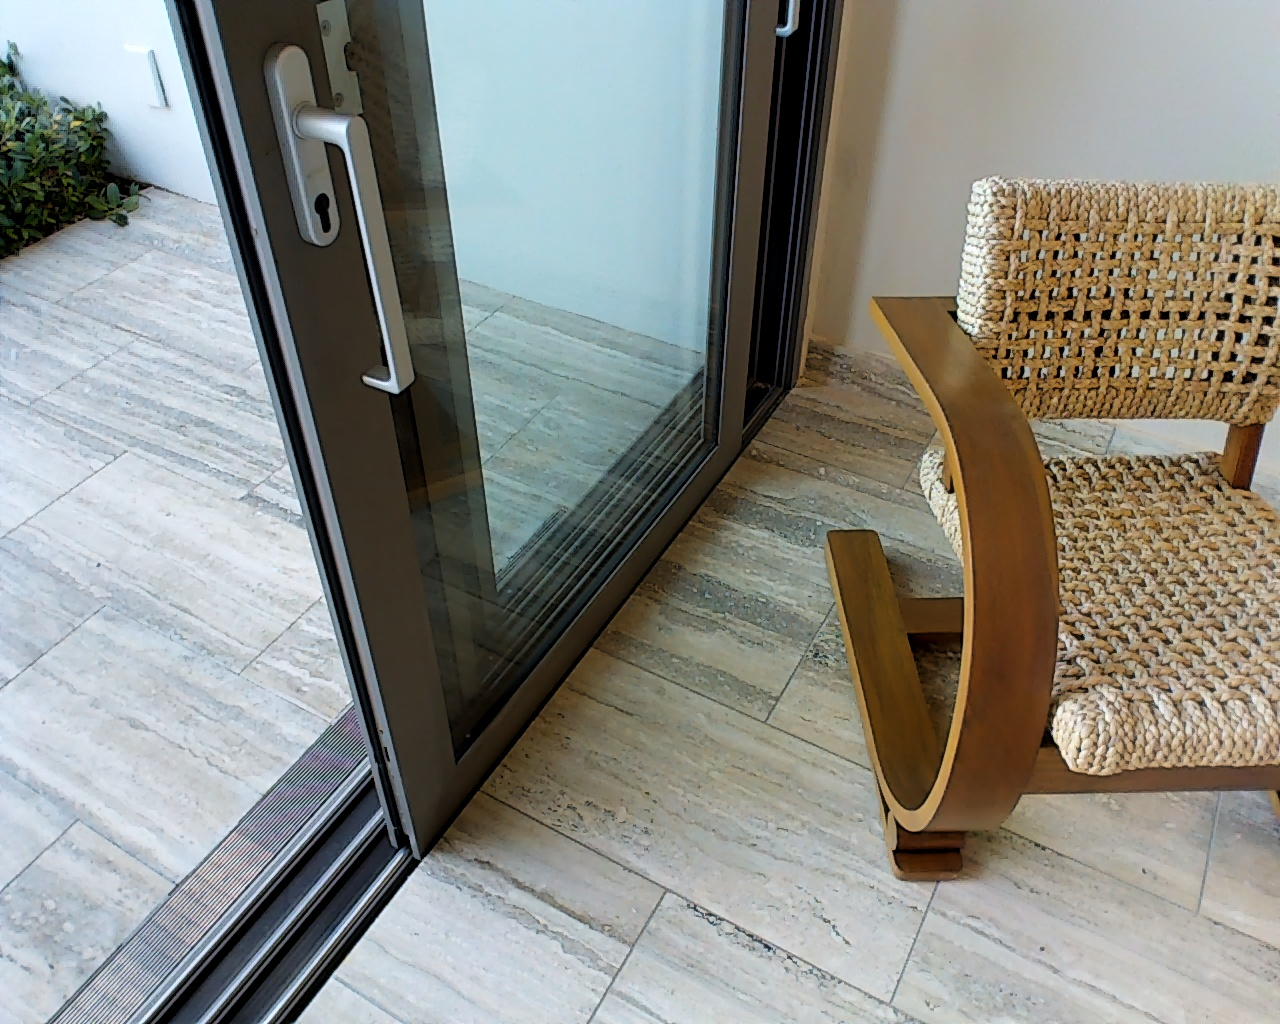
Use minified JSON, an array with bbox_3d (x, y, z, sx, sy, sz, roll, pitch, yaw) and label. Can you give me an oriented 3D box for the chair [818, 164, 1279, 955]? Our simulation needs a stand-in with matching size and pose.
[{"bbox_3d":[0.690,0.050,1.360,0.760,0.710,0.700,0,42,0],"label":"chair"}]
